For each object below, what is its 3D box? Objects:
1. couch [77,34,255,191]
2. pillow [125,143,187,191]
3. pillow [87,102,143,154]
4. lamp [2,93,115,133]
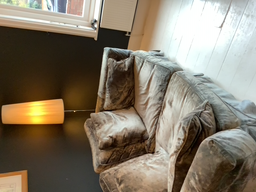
[{"bbox_3d":[0.200,0.300,1.830,1.660,0.810,1.190,49,133,53],"label":"couch"},{"bbox_3d":[0.170,0.580,1.590,0.630,0.360,0.180,-101,3,-81],"label":"pillow"},{"bbox_3d":[-0.140,0.290,2.100,0.550,0.480,0.140,-103,7,-60],"label":"pillow"},{"bbox_3d":[-0.820,0.180,2.640,0.300,1.260,0.330,49,133,53],"label":"lamp"}]
